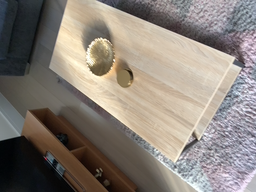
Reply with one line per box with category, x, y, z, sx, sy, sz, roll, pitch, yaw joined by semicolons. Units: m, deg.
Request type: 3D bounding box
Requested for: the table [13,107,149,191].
table;-0.460;0.590;1.750;1.210;0.310;0.420;32;111;28
